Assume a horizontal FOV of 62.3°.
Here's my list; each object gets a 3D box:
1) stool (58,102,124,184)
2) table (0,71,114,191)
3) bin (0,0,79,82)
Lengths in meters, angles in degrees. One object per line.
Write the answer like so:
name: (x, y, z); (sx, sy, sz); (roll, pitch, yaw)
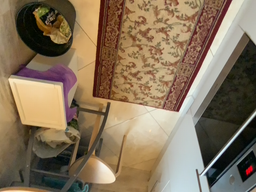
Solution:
stool: (-0.260, 0.370, 1.690); (0.300, 0.480, 0.350); (-14, 128, 17)
table: (-0.490, 0.520, 1.590); (0.540, 0.850, 1.020); (10, 131, -4)
bin: (-0.440, -0.340, 1.140); (0.250, 0.410, 0.310); (8, 131, -2)
